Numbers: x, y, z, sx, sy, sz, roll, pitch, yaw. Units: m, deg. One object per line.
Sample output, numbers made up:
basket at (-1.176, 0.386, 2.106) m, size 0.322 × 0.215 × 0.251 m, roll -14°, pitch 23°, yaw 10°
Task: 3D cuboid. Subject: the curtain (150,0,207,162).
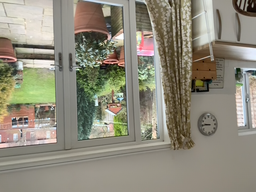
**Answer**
curtain at (0.620, -0.370, 2.670) m, size 0.540 × 2.230 × 0.290 m, roll -1°, pitch 177°, yaw -25°
